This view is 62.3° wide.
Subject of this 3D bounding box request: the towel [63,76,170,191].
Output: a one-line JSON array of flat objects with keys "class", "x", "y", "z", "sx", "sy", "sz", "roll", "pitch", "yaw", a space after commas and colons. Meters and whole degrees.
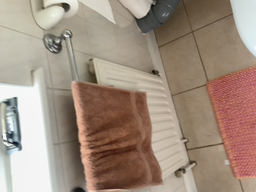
[{"class": "towel", "x": -0.010, "y": 0.140, "z": 0.720, "sx": 0.070, "sy": 0.410, "sz": 0.360, "roll": -19, "pitch": 77, "yaw": 29}]
